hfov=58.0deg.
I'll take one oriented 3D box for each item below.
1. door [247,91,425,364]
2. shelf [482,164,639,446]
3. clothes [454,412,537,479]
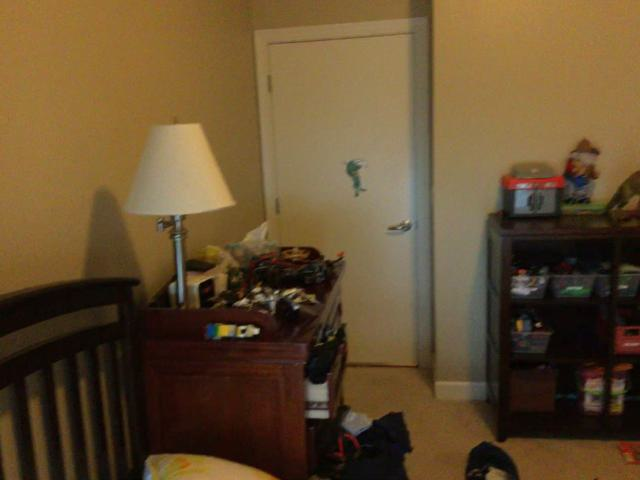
[{"bbox_3d":[0.110,-0.030,3.420,0.910,1.560,0.110,-3,10,11],"label":"door"},{"bbox_3d":[1.330,0.270,2.650,1.040,1.170,0.510,-3,10,11],"label":"shelf"},{"bbox_3d":[0.750,0.900,2.510,0.300,0.150,0.340,-3,10,11],"label":"clothes"}]
